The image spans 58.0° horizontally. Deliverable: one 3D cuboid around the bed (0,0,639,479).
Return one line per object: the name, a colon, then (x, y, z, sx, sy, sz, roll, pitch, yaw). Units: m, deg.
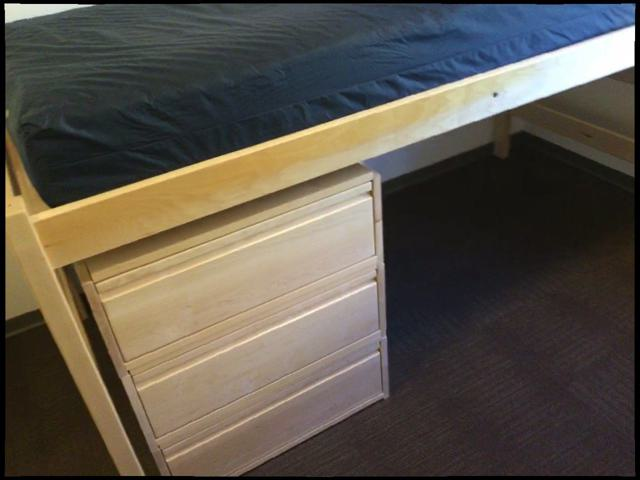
bed: (0.259, -0.341, 1.920, 2.347, 1.101, 1.050, -21, 37, -20)
